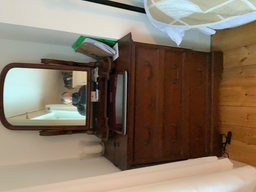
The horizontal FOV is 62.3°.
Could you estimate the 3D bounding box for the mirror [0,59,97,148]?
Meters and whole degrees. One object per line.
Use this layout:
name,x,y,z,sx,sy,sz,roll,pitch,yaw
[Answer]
mirror,-0.550,0.030,1.460,0.130,0.570,0.490,-7,94,63
